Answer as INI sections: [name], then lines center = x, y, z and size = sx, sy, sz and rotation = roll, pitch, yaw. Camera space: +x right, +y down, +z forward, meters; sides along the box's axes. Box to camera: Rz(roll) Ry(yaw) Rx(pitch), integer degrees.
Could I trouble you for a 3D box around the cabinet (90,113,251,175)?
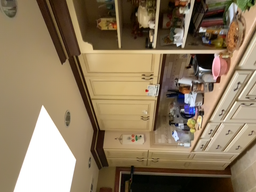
[cabinet]
center = 0.650, 0.870, 3.800
size = 0.870, 2.440, 0.720
rotation = 88, -176, -53
